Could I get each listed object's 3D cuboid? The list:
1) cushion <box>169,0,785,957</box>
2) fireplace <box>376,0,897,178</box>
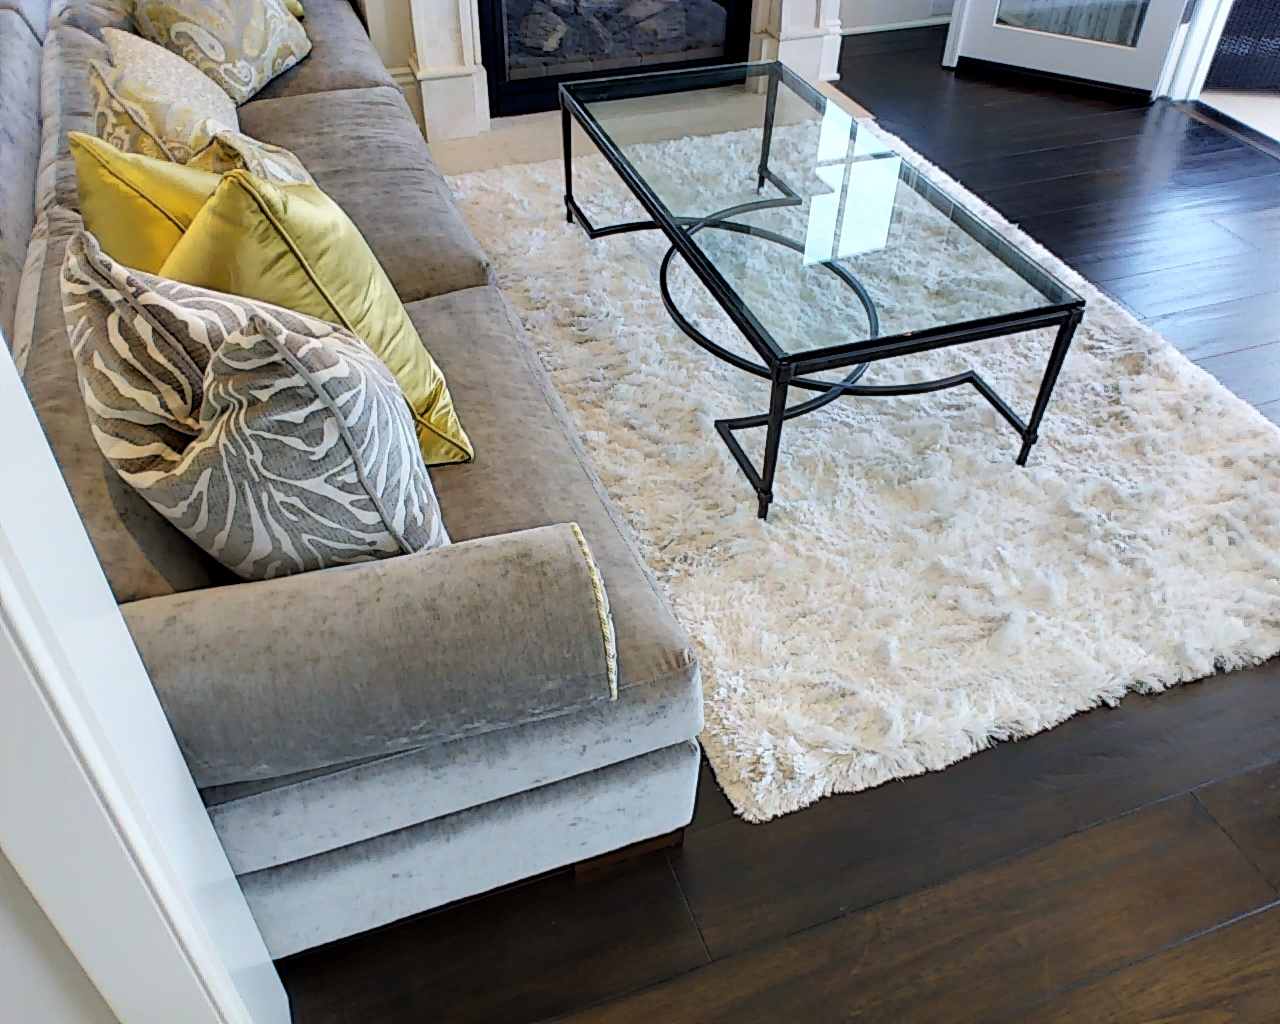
[{"bbox_3d":[-0.700,-0.670,2.520,0.660,0.220,3.410,-12,42,-15],"label":"cushion"},{"bbox_3d":[-0.010,-1.980,3.590,1.720,1.320,0.610,-12,42,-15],"label":"fireplace"}]
